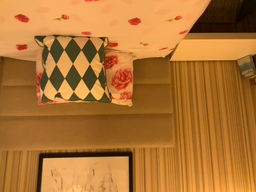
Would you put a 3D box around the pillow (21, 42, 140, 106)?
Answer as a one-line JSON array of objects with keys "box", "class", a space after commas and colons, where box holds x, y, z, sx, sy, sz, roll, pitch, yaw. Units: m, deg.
[{"box": [-0.310, -0.140, 1.550, 0.760, 0.380, 0.280, 1, 168, -5], "class": "pillow"}]

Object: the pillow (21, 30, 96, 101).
[{"box": [-0.400, -0.170, 1.310, 0.360, 0.360, 0.270, 2, 172, -4], "class": "pillow"}]
